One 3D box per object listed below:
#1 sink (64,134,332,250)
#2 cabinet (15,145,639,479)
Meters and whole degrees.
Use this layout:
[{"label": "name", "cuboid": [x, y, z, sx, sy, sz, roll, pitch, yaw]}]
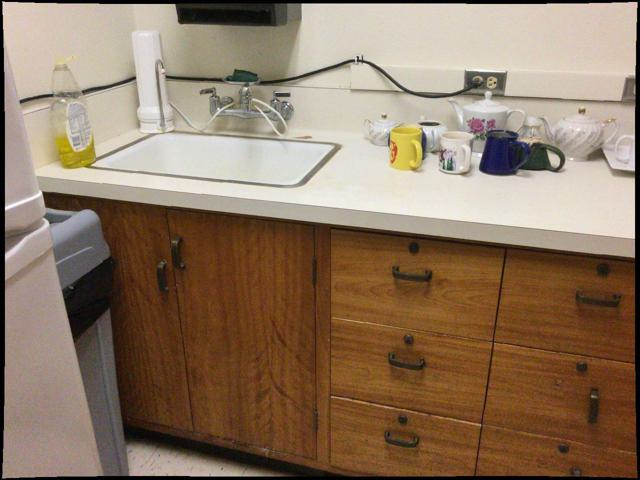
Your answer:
[{"label": "sink", "cuboid": [-0.339, -0.170, 1.750, 0.658, 0.170, 0.430, 7, 24, 15]}, {"label": "cabinet", "cuboid": [0.100, 0.271, 1.770, 1.736, 0.862, 0.630, 7, 24, 15]}]
